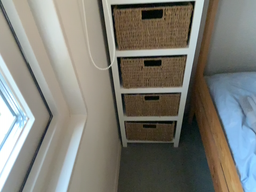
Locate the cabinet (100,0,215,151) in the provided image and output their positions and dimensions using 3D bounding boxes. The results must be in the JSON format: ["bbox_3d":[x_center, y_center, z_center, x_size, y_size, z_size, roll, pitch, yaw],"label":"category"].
[{"bbox_3d":[0.130,-0.160,1.130,0.400,1.150,0.320,0,44,4],"label":"cabinet"}]
